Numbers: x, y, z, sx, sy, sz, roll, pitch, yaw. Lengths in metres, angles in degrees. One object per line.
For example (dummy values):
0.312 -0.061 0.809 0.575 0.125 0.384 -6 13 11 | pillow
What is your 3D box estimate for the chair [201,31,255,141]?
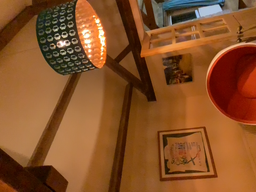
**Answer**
1.590 -0.200 2.590 0.860 1.140 1.110 -52 -47 -70 | chair
